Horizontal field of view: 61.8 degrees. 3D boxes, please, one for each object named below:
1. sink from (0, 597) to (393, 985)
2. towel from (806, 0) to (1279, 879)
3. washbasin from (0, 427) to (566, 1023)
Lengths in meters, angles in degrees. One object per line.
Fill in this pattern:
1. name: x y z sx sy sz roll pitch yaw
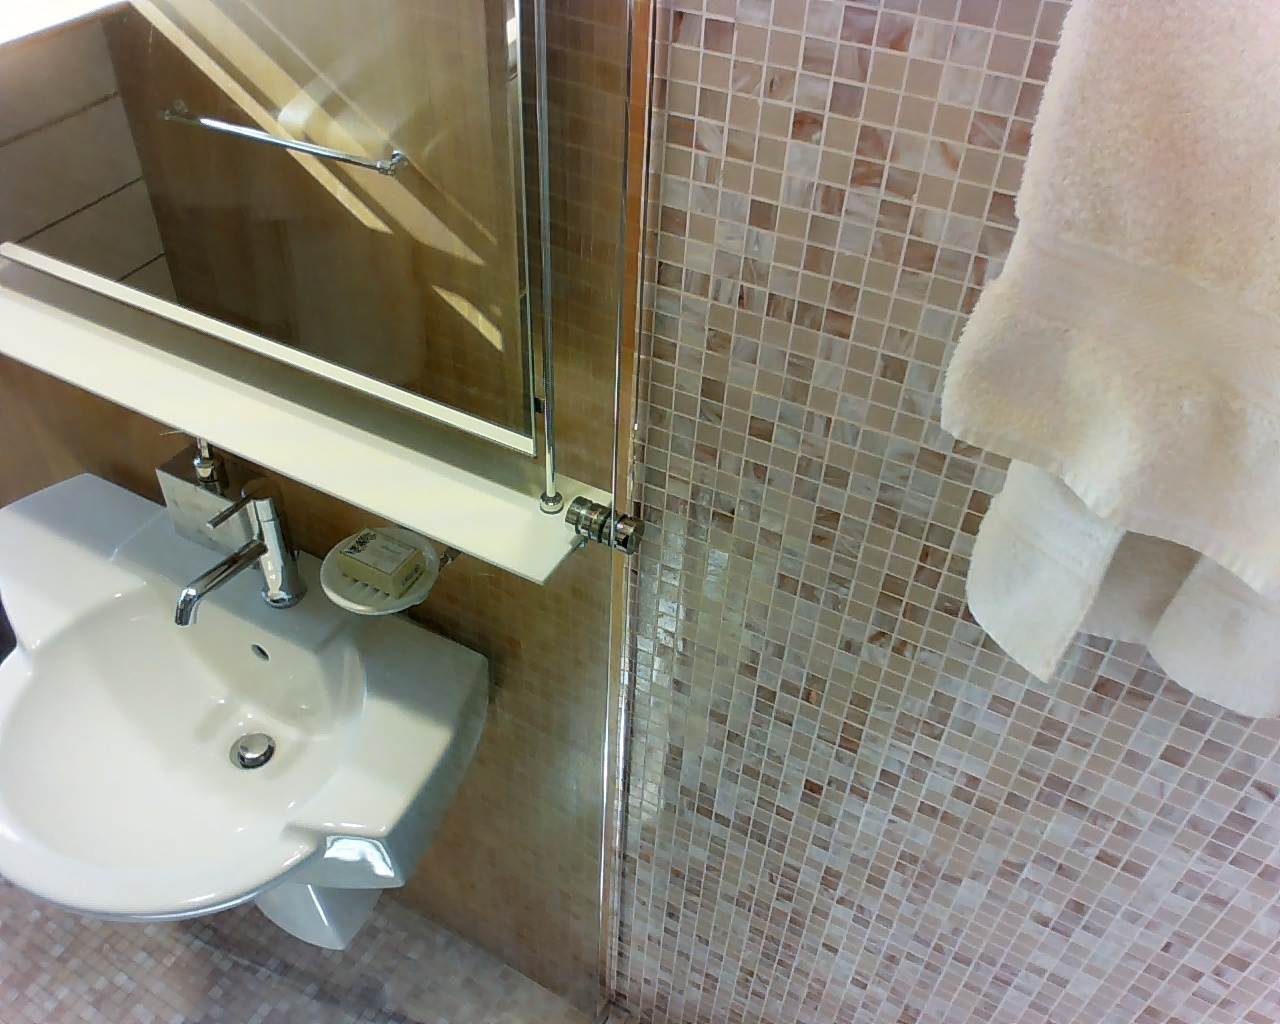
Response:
1. sink: -0.490 0.290 1.170 0.320 0.160 0.260 22 45 19
2. towel: 0.300 -0.050 0.590 0.320 0.510 0.120 22 46 19
3. washbasin: -0.550 0.390 1.370 0.760 0.630 0.490 21 45 19
